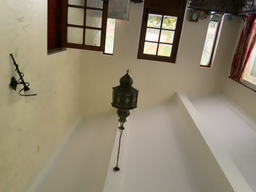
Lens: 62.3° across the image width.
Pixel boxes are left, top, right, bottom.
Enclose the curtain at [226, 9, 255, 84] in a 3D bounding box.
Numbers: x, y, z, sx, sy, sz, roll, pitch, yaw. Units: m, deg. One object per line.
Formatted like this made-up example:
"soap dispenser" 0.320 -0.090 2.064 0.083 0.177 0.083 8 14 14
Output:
"curtain" 2.160 -0.890 3.920 0.220 1.280 0.330 8 -162 1
